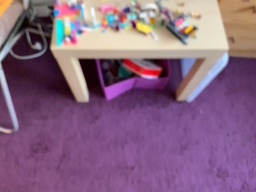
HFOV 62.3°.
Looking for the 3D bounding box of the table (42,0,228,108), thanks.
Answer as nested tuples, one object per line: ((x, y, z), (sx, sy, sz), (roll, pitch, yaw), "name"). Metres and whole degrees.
((0.020, -0.310, 0.990), (0.590, 0.450, 0.600), (2, 68, -2), "table")
